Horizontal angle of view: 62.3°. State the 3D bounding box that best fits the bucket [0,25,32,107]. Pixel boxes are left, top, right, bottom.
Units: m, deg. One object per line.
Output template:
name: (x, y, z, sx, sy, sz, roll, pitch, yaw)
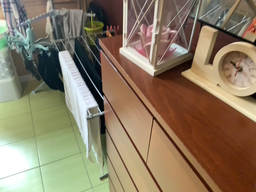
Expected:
bucket: (-1.320, -0.280, 2.150, 0.470, 0.710, 0.350, -11, 43, -15)
